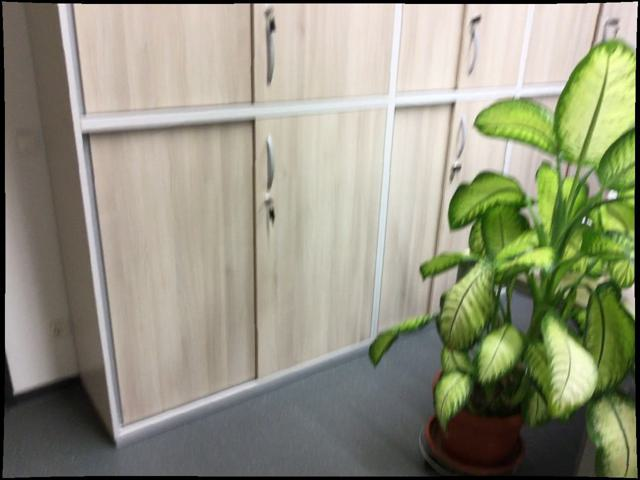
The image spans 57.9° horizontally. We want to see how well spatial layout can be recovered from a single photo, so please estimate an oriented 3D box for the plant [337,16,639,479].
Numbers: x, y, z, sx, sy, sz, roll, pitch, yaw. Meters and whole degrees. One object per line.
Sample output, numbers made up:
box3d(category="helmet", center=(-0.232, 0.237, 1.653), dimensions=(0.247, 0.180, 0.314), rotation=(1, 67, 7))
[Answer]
box3d(category="plant", center=(0.759, 0.120, 1.780), dimensions=(0.989, 1.431, 0.870), rotation=(-16, 31, -36))
